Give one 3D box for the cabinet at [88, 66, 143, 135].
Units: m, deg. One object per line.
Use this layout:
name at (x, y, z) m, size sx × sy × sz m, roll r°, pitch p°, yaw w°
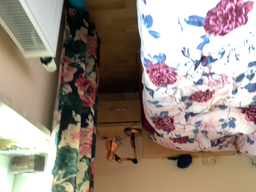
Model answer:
cabinet at (-0.110, 0.060, 2.160) m, size 0.480 × 0.570 × 0.400 m, roll -2°, pitch 154°, yaw 2°
